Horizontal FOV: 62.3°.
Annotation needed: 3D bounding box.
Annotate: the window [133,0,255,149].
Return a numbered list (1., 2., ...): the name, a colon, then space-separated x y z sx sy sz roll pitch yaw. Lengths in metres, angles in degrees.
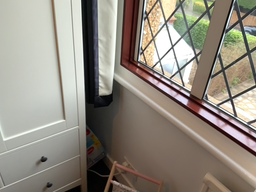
1. window: 0.340 -0.570 0.590 0.050 1.430 0.750 -19 40 -33
